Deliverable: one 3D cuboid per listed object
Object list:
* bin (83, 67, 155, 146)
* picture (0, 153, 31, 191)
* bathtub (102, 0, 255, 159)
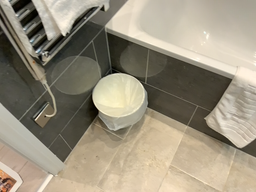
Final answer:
[{"bbox_3d":[-0.040,0.060,1.210,0.260,0.250,0.290,26,62,16],"label":"bin"},{"bbox_3d":[-0.750,0.460,1.180,0.310,0.030,0.250,23,61,15],"label":"picture"},{"bbox_3d":[0.780,-0.100,1.140,1.660,0.580,0.680,24,62,16],"label":"bathtub"}]
